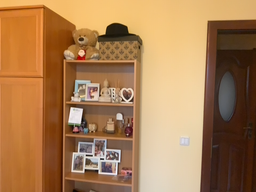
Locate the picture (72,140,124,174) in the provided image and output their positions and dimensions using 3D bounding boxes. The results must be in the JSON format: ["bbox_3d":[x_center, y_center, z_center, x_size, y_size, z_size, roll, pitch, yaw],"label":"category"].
[{"bbox_3d":[-0.270,0.540,1.900,0.450,0.240,0.100,1,3,11],"label":"picture"}]

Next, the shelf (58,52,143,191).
[{"bbox_3d":[-0.250,0.540,1.880,0.670,1.810,0.240,2,3,10],"label":"shelf"}]

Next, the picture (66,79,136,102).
[{"bbox_3d":[-0.230,-0.050,1.850,0.580,0.170,0.190,2,3,11],"label":"picture"}]
